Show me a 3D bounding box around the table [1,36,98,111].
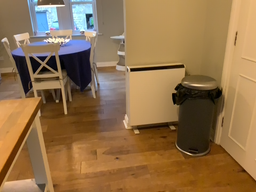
[{"bbox_3d":[-1.120,-0.480,3.450,1.100,0.740,1.530,-6,23,-10],"label":"table"}]

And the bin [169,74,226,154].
[{"bbox_3d":[0.610,0.160,1.940,0.350,0.650,0.260,-6,23,-10],"label":"bin"}]

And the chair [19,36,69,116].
[{"bbox_3d":[-1.030,-0.270,2.720,0.400,0.900,0.450,-6,23,-10],"label":"chair"}]
